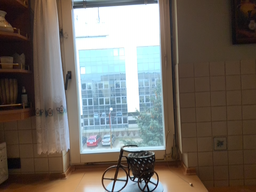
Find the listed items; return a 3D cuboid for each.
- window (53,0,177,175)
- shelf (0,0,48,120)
[{"bbox_3d":[-0.090,-0.180,1.630,0.860,1.530,0.090,-3,3,0],"label":"window"},{"bbox_3d":[-0.800,-0.390,1.430,0.290,1.050,0.400,-3,3,2],"label":"shelf"}]
